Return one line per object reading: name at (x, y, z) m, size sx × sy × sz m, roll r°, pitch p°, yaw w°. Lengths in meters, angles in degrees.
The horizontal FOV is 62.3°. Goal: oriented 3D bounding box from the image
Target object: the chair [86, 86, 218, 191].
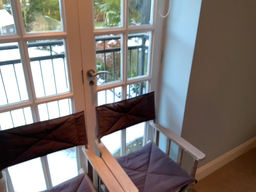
chair at (0.110, 0.490, 1.450) m, size 0.550 × 0.890 × 0.560 m, roll -15°, pitch 30°, yaw -31°
